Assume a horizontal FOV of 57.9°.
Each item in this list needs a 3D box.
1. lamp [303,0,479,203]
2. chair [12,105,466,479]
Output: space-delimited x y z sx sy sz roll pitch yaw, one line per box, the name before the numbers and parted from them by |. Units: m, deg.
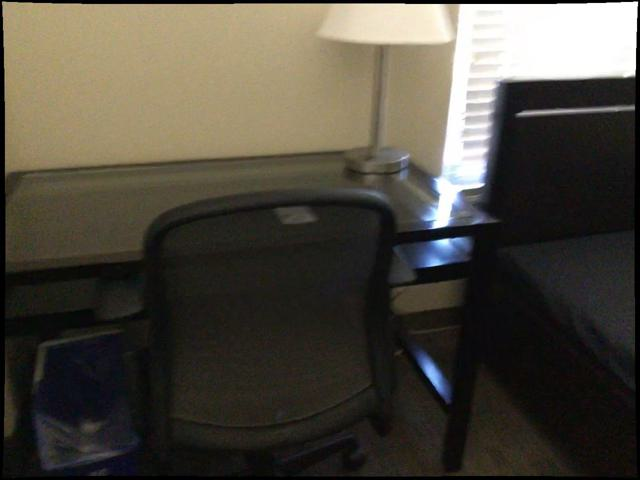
lamp | 0.180 -0.501 1.680 0.370 0.651 0.390 -7 27 -12
chair | -0.150 0.260 1.360 0.719 0.991 0.510 -7 27 -12
